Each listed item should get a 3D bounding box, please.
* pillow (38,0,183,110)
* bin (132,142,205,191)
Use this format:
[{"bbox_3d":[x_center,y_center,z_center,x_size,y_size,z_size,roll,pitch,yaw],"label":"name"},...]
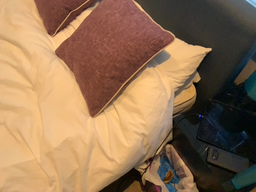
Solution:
[{"bbox_3d":[-0.090,-0.260,0.960,0.410,0.220,0.470,-27,63,-19],"label":"pillow"},{"bbox_3d":[0.190,0.460,1.120,0.200,0.290,0.280,-26,62,-18],"label":"bin"}]
